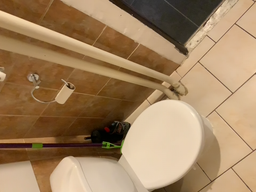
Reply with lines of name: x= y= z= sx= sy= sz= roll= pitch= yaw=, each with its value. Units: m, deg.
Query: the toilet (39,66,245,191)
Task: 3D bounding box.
toilet: x=0.100 y=0.330 z=1.130 sx=0.740 sy=0.730 sz=0.420 roll=-48 pitch=59 yaw=22
